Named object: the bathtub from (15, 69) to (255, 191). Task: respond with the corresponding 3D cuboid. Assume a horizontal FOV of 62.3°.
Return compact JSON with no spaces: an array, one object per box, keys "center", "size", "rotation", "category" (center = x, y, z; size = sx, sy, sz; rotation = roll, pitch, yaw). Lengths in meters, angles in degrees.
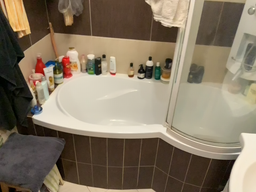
[{"center":[0.120,0.260,1.790],"size":[1.680,0.520,0.760],"rotation":[6,35,5],"category":"bathtub"}]
